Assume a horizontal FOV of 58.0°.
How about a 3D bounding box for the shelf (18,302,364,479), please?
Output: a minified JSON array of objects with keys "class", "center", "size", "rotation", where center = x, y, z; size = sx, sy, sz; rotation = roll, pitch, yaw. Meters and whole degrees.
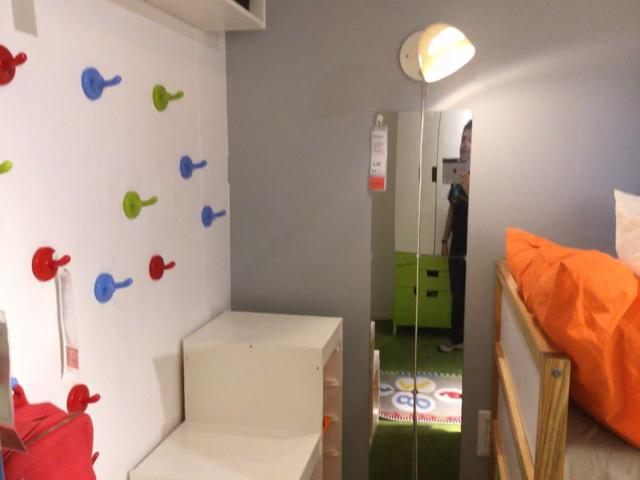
[{"class":"shelf","center":[-0.230,0.780,1.660],"size":[0.530,0.960,1.080],"rotation":[3,6,12]}]
